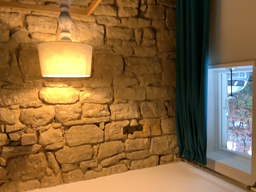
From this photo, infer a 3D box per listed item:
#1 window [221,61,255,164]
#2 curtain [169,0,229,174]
[{"bbox_3d":[1.340,0.170,2.350,0.100,1.090,0.630,-3,-176,-28],"label":"window"},{"bbox_3d":[0.740,-0.460,2.280,0.240,2.390,0.580,-4,-176,-30],"label":"curtain"}]
